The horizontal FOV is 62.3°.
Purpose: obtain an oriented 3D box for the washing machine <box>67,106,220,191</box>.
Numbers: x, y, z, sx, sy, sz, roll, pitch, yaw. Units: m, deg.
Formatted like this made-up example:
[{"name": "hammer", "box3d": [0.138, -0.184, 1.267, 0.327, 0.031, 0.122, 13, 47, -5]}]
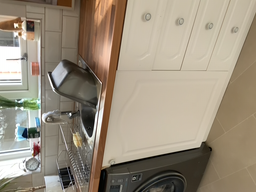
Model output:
[{"name": "washing machine", "box3d": [0.060, 0.550, 1.740, 0.700, 0.930, 0.610, 47, 133, 51]}]
